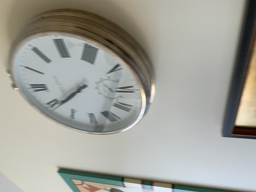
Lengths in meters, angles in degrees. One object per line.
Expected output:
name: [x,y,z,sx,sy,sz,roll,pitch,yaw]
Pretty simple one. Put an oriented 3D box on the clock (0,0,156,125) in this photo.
clock: [-0.120,-0.070,0.600,0.380,0.360,0.070,76,-158,-45]
